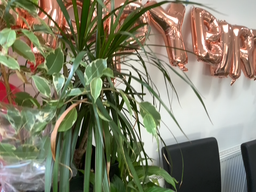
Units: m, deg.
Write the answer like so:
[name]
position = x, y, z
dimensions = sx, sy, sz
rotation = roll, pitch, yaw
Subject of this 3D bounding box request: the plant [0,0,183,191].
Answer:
[plant]
position = -0.180, 0.080, 0.670
dimensions = 0.420, 1.030, 0.470
rotation = -6, 14, -33
